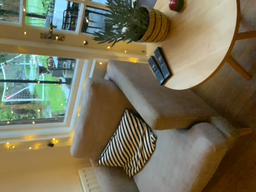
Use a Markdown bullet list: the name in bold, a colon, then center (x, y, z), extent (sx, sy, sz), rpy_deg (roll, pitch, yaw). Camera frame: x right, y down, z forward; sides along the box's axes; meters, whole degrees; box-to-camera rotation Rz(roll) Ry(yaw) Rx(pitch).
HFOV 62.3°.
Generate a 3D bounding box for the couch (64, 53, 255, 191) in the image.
- **couch**: center (0.140, 0.380, 1.560), extent (0.970, 0.840, 0.970), rpy_deg (52, 132, 43)
